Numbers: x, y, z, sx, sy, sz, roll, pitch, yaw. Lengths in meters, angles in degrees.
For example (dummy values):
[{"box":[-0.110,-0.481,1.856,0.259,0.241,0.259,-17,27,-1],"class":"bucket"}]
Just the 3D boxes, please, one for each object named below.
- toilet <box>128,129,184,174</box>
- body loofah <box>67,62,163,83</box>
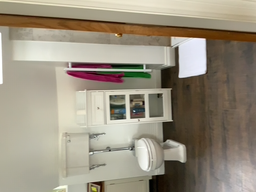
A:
[{"box":[0.320,0.660,2.670,0.670,0.480,0.350,-173,83,-74],"class":"toilet"},{"box":[-0.170,-0.280,2.670,0.380,1.140,0.200,-178,87,-75],"class":"body loofah"}]
